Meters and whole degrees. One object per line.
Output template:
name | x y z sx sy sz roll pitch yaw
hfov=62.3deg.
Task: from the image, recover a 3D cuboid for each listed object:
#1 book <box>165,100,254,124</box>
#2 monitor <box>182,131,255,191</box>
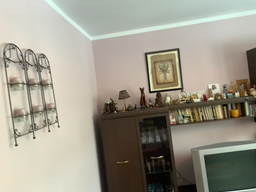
book | 0.990 0.200 2.630 1.020 0.160 0.140 -7 1 4
monitor | 1.130 0.800 2.520 0.790 0.580 0.530 -7 1 3
